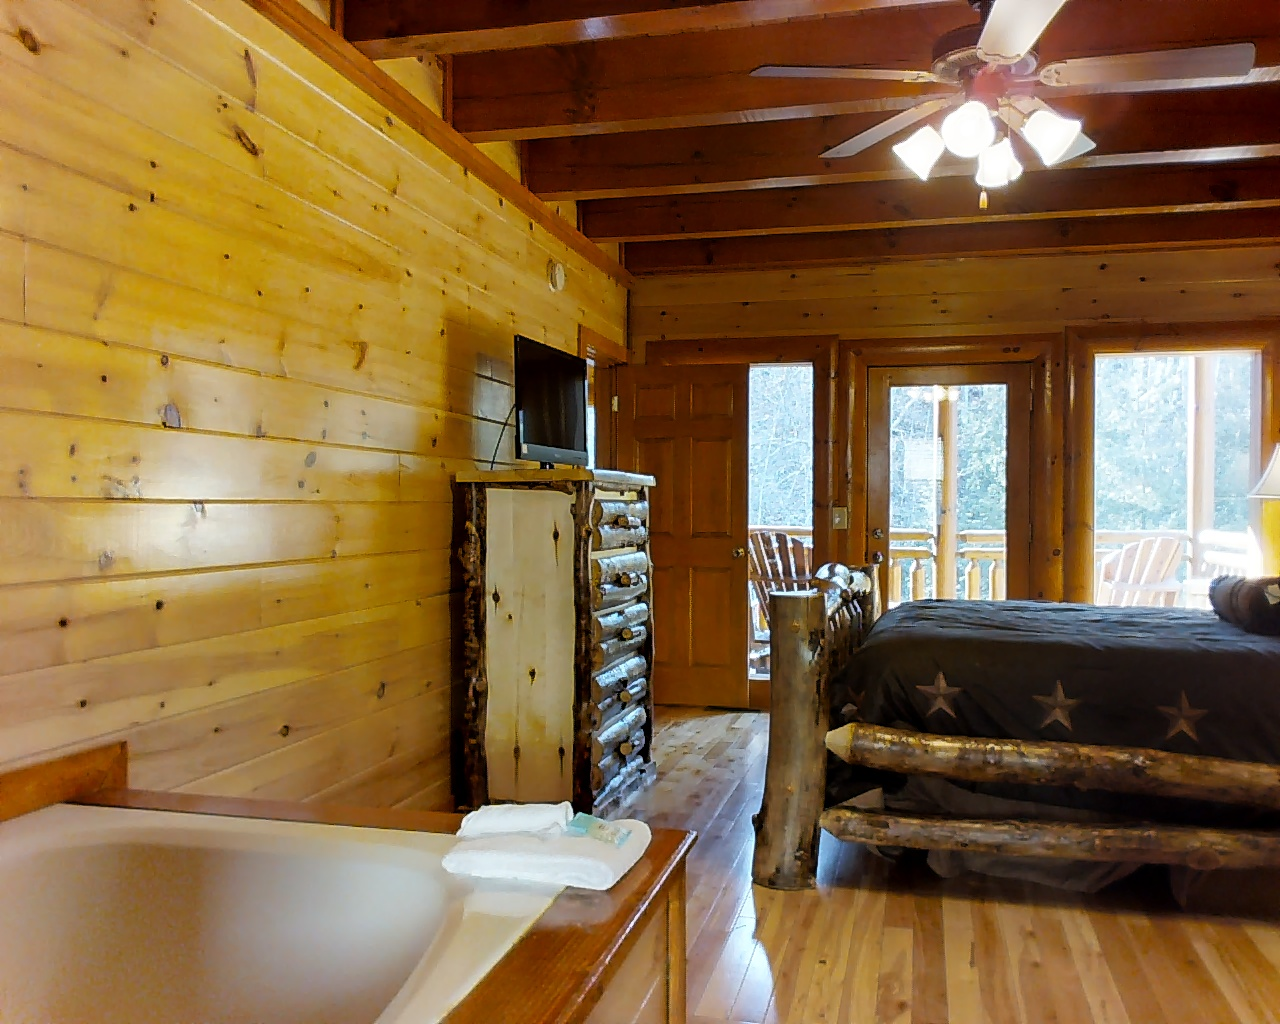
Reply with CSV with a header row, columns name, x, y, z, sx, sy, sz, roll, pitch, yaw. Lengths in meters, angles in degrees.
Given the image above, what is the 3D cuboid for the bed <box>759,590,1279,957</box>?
name,x,y,z,sx,sy,sz,roll,pitch,yaw
bed,1.899,0.800,4.090,2.489,0.760,2.410,0,1,17
